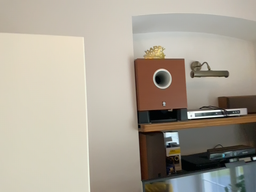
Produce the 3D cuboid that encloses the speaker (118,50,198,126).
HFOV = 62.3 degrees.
[{"bbox_3d":[0.170,-0.040,1.370,0.360,0.410,0.380,-2,-4,-17],"label":"speaker"}]
